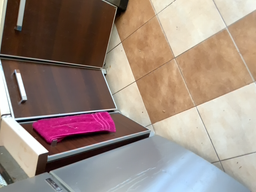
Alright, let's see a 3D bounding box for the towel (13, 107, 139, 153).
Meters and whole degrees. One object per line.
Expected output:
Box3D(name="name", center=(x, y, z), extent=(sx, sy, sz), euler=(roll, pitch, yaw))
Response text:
Box3D(name="towel", center=(-0.210, 0.140, 1.080), extent=(0.220, 0.620, 0.060), euler=(24, 105, 34))
